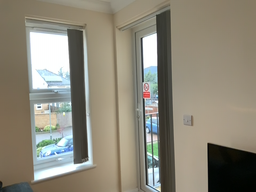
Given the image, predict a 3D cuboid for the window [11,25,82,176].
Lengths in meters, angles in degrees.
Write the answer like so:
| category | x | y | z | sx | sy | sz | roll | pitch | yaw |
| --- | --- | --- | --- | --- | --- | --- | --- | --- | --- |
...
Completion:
| category | x | y | z | sx | sy | sz | roll | pitch | yaw |
| --- | --- | --- | --- | --- | --- | --- | --- | --- | --- |
| window | -0.920 | 0.040 | 2.470 | 0.670 | 1.610 | 0.110 | -4 | 3 | -33 |
